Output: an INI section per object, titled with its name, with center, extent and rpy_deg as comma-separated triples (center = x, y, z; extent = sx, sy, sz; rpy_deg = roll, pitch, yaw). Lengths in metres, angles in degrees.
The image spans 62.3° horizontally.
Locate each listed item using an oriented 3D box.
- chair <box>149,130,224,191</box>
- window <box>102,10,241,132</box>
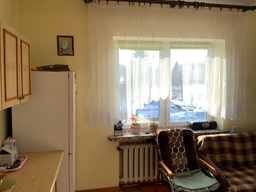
[chair]
center = 0.700, 0.990, 2.770
extent = 0.600, 0.880, 0.840
rpy_deg = -1, 5, -12
[window]
center = 0.660, -0.340, 3.140
extent = 2.040, 1.570, 0.310
rpy_deg = -1, 5, -13
